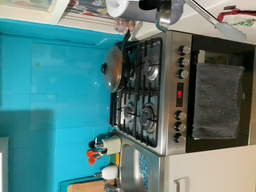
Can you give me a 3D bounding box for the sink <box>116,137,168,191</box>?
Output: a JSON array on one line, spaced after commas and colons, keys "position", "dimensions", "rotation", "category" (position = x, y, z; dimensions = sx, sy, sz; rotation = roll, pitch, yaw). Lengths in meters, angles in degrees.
[{"position": [0.070, 0.480, 1.340], "dimensions": [0.380, 0.150, 0.340], "rotation": [-168, 80, -64], "category": "sink"}]
